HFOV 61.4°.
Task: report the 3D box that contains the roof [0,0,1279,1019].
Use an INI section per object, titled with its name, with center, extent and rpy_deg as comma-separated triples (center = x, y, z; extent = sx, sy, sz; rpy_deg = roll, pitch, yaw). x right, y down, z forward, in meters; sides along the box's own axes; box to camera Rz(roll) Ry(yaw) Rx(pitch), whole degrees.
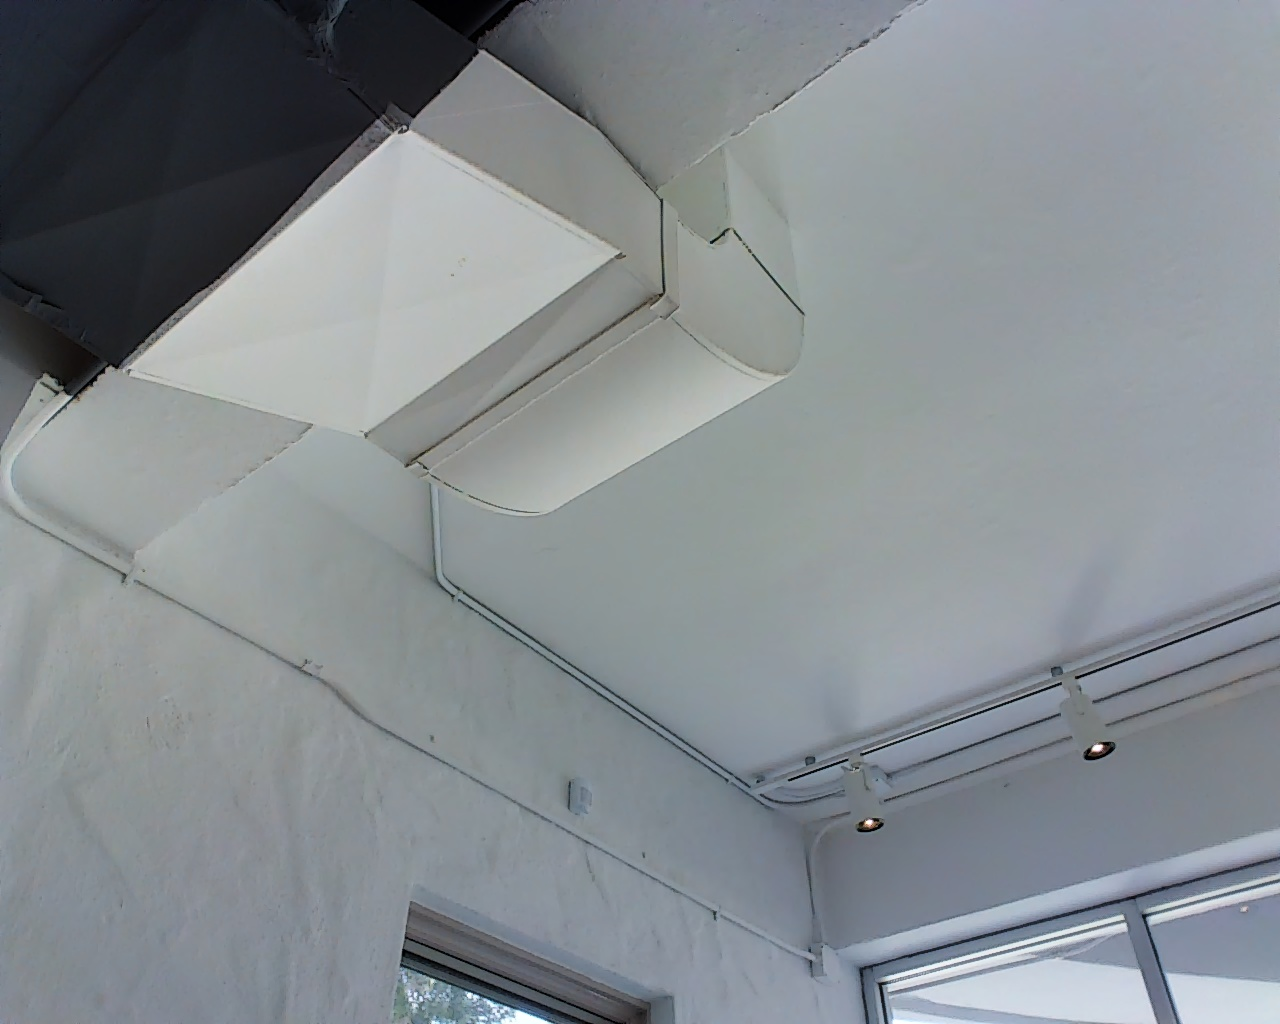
[roof]
center = 3.310, -1.240, 0.770
extent = 8.950, 0.610, 3.130
rpy_deg = -27, -48, 27
